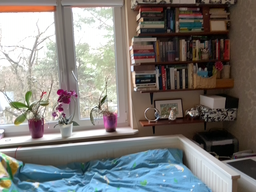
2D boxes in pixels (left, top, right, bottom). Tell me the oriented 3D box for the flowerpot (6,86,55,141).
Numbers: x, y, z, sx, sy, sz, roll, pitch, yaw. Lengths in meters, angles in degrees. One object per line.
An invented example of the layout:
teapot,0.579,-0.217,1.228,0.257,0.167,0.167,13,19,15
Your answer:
flowerpot,-0.990,0.160,2.210,0.360,0.500,0.330,-3,6,-10

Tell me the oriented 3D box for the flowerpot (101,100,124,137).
flowerpot,-0.170,0.230,2.220,0.200,0.330,0.240,-3,6,-11
